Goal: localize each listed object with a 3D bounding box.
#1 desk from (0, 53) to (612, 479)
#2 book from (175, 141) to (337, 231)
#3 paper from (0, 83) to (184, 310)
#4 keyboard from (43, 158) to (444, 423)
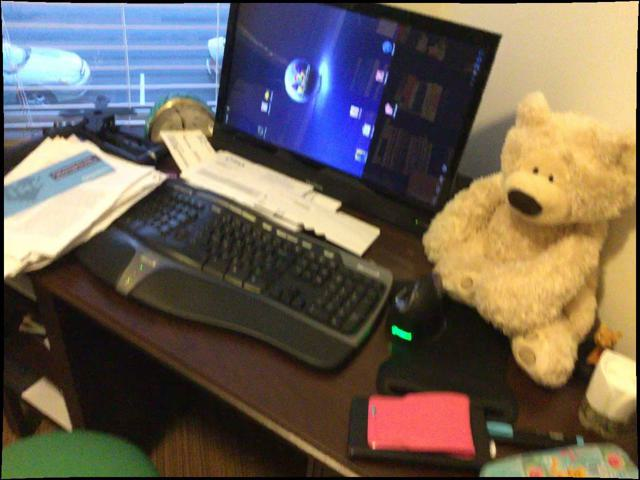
[{"bbox_3d":[-0.120,0.231,1.220,1.018,0.761,0.840,23,42,20],"label":"desk"},{"bbox_3d":[-0.120,-0.110,1.100,0.260,0.020,0.160,21,42,18],"label":"book"},{"bbox_3d":[-0.469,-0.100,0.980,0.290,0.140,0.370,20,42,17],"label":"paper"},{"bbox_3d":[-0.110,0.040,0.900,0.529,0.060,0.300,20,42,17],"label":"keyboard"}]
